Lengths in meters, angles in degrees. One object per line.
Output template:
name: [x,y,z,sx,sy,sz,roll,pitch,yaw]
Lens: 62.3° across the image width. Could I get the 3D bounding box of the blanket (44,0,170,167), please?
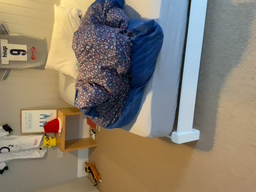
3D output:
blanket: [-0.290,-0.240,1.580,0.970,0.340,1.040,40,124,47]
